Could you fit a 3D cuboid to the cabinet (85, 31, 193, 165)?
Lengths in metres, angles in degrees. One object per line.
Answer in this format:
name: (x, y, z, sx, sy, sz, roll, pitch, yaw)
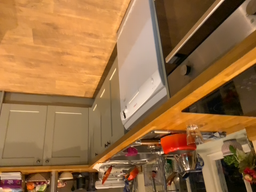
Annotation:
cabinet: (-0.030, 0.140, 2.230, 0.620, 0.940, 1.190, 5, 154, -21)
